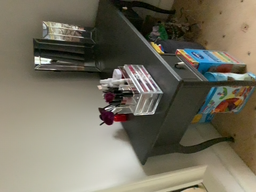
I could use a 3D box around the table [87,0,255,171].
[{"bbox_3d":[0.240,-0.240,1.540,1.260,0.740,0.580,-119,37,-45],"label":"table"}]
